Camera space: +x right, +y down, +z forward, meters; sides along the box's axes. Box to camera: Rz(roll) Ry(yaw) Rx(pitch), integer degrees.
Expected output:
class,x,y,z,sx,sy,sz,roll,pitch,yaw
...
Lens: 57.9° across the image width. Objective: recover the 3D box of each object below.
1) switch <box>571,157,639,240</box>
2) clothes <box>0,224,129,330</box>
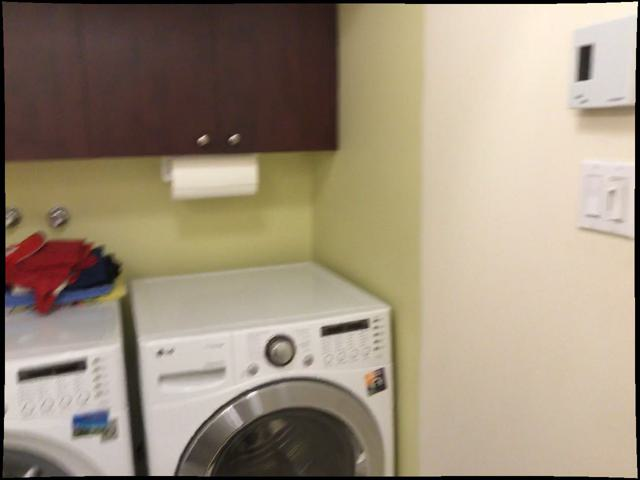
class,x,y,z,sx,sy,sz,roll,pitch,yaw
switch,0.460,-0.070,0.930,0.020,0.120,0.120,-5,11,-18
clothes,-0.819,0.100,1.730,0.450,0.220,0.310,-5,11,-18
